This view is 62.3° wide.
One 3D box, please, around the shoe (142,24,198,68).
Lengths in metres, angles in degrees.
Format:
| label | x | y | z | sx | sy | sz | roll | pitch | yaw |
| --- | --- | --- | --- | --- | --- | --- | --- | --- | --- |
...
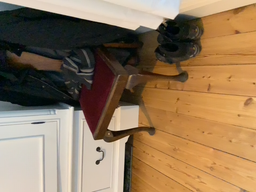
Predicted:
| label | x | y | z | sx | sy | sz | roll | pitch | yaw |
| --- | --- | --- | --- | --- | --- | --- | --- | --- | --- |
| shoe | 0.220 | -0.260 | 1.130 | 0.190 | 0.190 | 0.190 | 22 | 109 | 55 |
